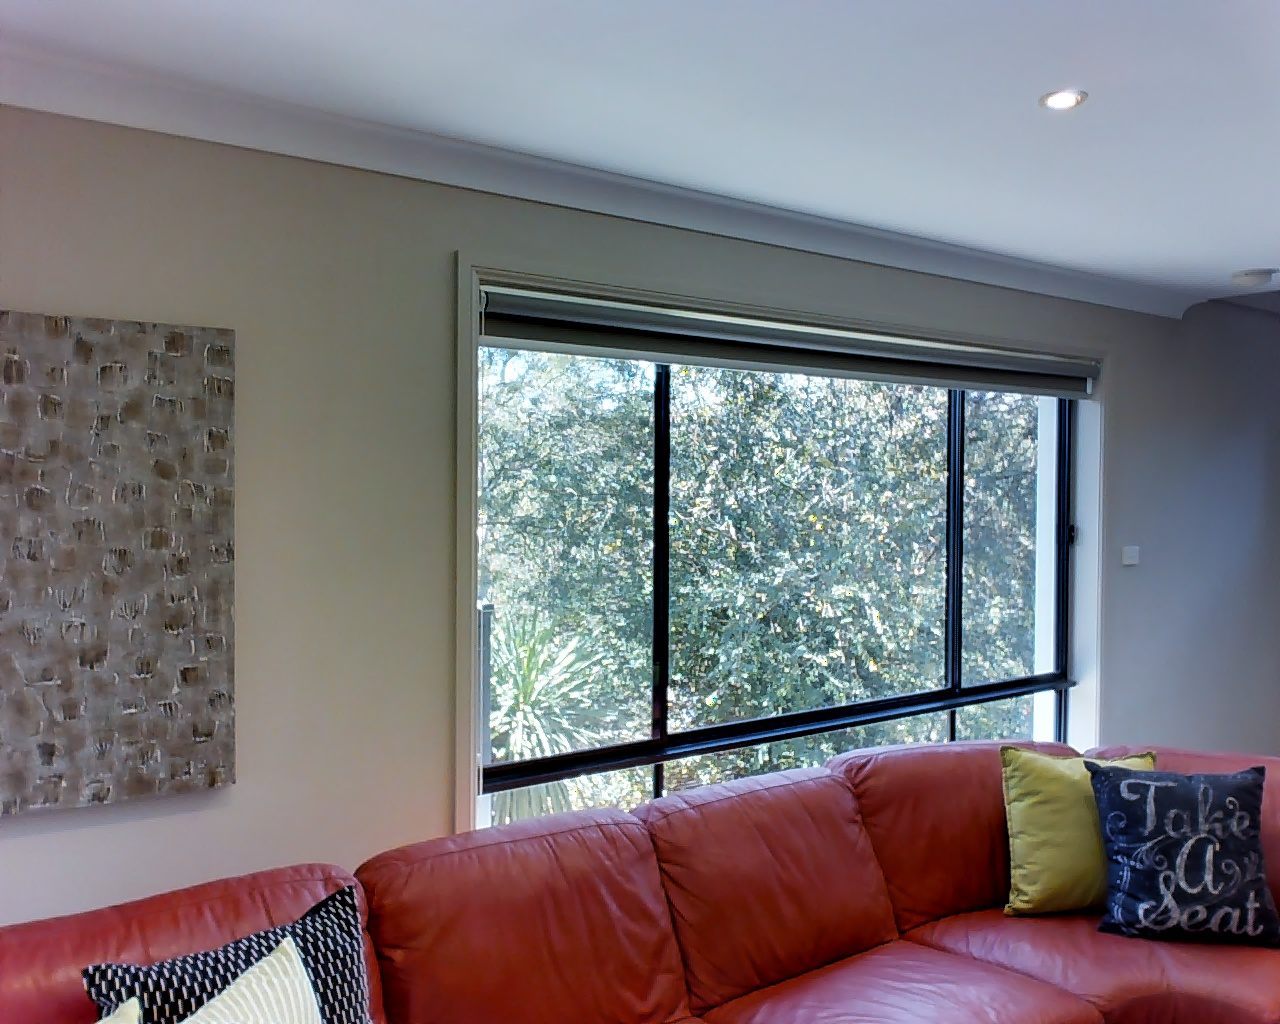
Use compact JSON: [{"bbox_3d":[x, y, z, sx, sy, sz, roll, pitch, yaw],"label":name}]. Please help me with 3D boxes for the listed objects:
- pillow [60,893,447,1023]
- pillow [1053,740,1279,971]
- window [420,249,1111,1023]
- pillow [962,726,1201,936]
[{"bbox_3d":[-0.670,0.920,1.800,0.520,0.460,0.300,15,-8,-36],"label":"pillow"},{"bbox_3d":[1.390,0.870,2.770,0.480,0.440,0.290,11,-8,9],"label":"pillow"},{"bbox_3d":[0.680,0.380,3.740,2.969,2.131,0.330,-1,1,-37],"label":"window"},{"bbox_3d":[1.200,0.860,2.930,0.500,0.440,0.250,10,-6,-1],"label":"pillow"}]
